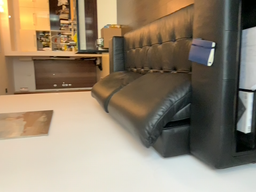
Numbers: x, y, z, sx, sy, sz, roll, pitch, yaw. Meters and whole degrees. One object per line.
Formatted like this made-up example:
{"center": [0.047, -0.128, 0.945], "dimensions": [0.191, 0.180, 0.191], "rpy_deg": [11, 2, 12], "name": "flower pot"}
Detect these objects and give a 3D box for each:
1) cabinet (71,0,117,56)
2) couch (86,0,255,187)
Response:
{"center": [-0.800, -2.010, 4.900], "dimensions": [0.690, 0.920, 2.110], "rpy_deg": [-156, 65, -70], "name": "cabinet"}
{"center": [0.190, -0.280, 2.250], "dimensions": [2.470, 0.900, 1.050], "rpy_deg": [-155, 63, -69], "name": "couch"}
